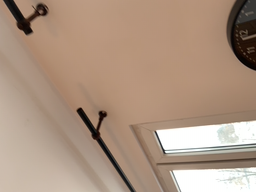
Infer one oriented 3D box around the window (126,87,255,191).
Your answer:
[{"bbox_3d":[0.980,0.580,1.410,0.180,1.550,1.540,-74,-32,-49],"label":"window"}]
